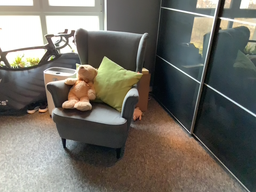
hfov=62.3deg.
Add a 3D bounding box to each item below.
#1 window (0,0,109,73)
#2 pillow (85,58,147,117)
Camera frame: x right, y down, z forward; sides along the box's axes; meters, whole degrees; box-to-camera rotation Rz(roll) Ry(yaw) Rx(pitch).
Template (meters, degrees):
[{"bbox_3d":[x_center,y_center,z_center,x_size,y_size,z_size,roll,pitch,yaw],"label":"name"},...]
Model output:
[{"bbox_3d":[-1.060,-1.220,2.340,1.700,1.920,0.170,-6,28,-18],"label":"window"},{"bbox_3d":[-0.120,-0.090,2.030,0.410,0.430,0.290,21,13,29],"label":"pillow"}]
